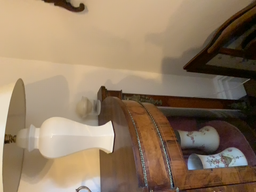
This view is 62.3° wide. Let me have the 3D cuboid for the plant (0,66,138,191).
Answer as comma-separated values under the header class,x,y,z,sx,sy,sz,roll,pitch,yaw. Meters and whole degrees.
class,x,y,z,sx,sy,sz,roll,pitch,yaw
plant,-0.310,0.180,0.700,0.430,0.530,0.370,131,137,-59
